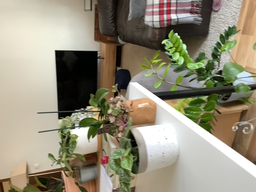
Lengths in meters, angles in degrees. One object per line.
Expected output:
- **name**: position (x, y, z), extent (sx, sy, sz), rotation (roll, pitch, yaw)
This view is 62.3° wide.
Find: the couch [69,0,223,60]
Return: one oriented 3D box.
- **couch**: position (0.010, -1.000, 2.020), extent (1.520, 0.860, 1.000), rotation (-139, 49, -58)
